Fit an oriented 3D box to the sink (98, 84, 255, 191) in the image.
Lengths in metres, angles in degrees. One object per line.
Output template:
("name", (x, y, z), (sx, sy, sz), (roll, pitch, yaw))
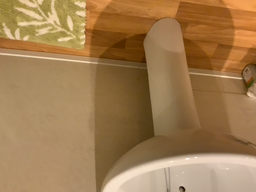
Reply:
("sink", (0.190, 0.200, 0.650), (0.540, 0.170, 0.440), (5, 141, -6))
